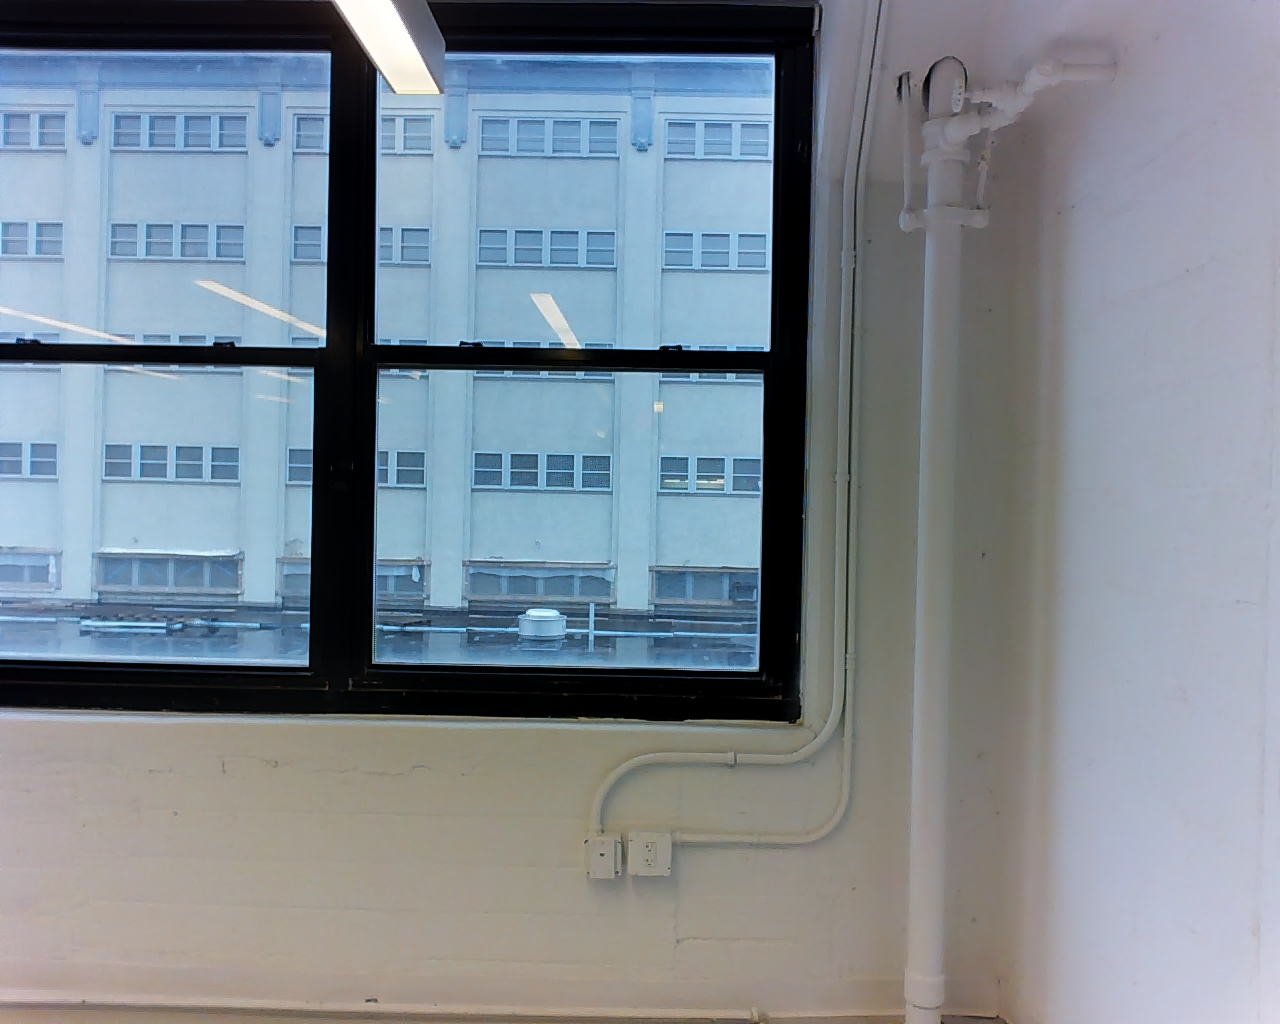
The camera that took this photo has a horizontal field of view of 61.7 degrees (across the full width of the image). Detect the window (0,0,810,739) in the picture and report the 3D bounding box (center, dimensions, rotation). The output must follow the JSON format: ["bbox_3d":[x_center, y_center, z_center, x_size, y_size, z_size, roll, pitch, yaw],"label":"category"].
[{"bbox_3d":[-2.190,-0.470,3.140,5.299,2.110,0.140,1,0,1],"label":"window"}]
